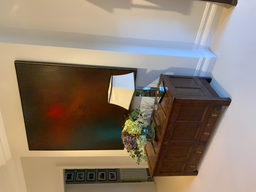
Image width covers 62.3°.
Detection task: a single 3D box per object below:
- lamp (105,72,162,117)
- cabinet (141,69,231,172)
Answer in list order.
[{"bbox_3d":[0.040,-0.020,2.750,0.410,0.650,0.390,-101,17,-54],"label":"lamp"},{"bbox_3d":[0.690,0.370,2.950,0.640,0.710,1.290,-101,17,-54],"label":"cabinet"}]
